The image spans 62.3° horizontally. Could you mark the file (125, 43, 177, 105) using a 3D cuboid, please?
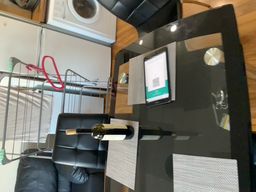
[{"bbox_3d":[0.100,-0.090,1.040,0.340,0.020,0.250,-9,76,51],"label":"file"}]

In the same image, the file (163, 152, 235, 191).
[{"bbox_3d":[0.240,0.380,0.750,0.280,0.020,0.340,-13,73,50],"label":"file"}]

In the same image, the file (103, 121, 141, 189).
[{"bbox_3d":[-0.040,0.300,1.150,0.280,0.020,0.310,-4,80,52],"label":"file"}]
